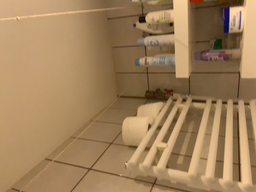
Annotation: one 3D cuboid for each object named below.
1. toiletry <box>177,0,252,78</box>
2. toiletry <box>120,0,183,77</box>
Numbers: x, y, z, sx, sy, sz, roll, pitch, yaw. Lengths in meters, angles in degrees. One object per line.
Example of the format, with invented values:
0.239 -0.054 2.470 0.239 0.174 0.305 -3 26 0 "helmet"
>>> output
0.340 -0.390 0.830 0.250 0.240 0.590 -44 -49 -56 "toiletry"
0.110 -0.400 0.930 0.230 0.200 0.590 -44 -49 -56 "toiletry"
